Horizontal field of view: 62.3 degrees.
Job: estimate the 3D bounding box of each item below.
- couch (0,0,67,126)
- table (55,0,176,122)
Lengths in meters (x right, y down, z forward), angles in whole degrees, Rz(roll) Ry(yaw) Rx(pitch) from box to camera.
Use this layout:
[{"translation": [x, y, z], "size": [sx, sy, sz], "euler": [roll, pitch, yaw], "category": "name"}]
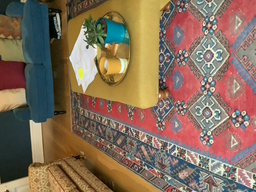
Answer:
[{"translation": [-1.510, -0.540, 3.060], "size": [1.080, 0.830, 1.600], "euler": [12, 104, 53], "category": "couch"}, {"translation": [-0.210, -0.340, 1.680], "size": [1.250, 0.300, 0.810], "euler": [11, 104, 53], "category": "table"}]
